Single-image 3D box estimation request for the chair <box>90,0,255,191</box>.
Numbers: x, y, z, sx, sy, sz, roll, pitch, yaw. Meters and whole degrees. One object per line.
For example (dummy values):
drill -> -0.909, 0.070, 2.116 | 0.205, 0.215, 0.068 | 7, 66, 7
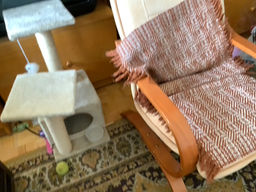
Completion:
chair -> 0.330, -0.120, 1.010 | 0.670, 0.950, 0.800 | -23, 48, -19
